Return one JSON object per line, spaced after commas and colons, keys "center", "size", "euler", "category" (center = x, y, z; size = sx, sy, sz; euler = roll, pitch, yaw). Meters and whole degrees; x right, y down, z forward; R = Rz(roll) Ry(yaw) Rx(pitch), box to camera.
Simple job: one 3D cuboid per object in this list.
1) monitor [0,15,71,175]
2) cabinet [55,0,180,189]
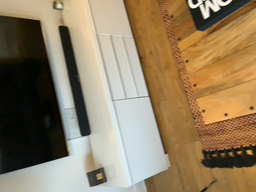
{"center": [-0.890, -0.070, 1.600], "size": [0.040, 0.690, 1.220], "euler": [-28, 73, 48], "category": "monitor"}
{"center": [-0.160, -0.180, 1.920], "size": [0.520, 0.500, 1.800], "euler": [-28, 73, 48], "category": "cabinet"}
